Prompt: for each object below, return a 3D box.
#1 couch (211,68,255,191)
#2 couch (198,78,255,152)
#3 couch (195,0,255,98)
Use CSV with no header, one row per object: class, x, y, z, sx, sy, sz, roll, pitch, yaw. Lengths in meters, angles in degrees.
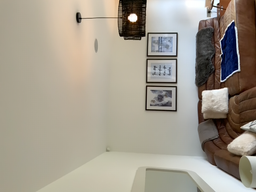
couch,1.660,0.410,2.740,1.360,0.740,1.210,54,-142,-81
couch,1.780,0.350,3.810,0.690,0.710,1.130,-81,-9,-53
couch,1.820,-0.890,4.160,1.160,0.740,1.730,55,-142,-81
